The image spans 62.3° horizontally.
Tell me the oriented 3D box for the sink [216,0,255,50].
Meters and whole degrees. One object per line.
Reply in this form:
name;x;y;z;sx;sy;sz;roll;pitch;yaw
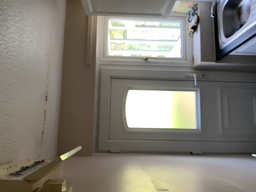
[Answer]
sink;0.940;-0.670;1.790;0.450;0.170;0.420;116;156;-82
